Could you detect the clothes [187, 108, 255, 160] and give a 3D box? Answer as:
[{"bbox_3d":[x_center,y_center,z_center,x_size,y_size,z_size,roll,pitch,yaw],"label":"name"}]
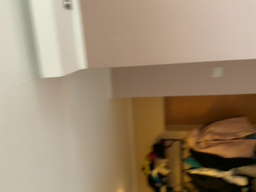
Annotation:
[{"bbox_3d":[1.290,0.530,2.990,0.380,0.820,0.600,76,-164,-49],"label":"clothes"}]
